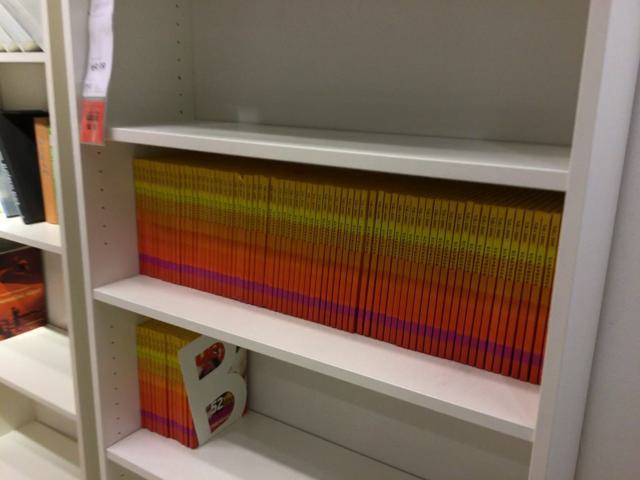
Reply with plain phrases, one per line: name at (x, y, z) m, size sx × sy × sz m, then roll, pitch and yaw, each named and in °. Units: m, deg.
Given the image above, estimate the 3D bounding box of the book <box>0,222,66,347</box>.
book at (-0.800, 0.110, 1.500) m, size 0.130 × 0.260 × 0.190 m, roll 12°, pitch 20°, yaw 31°

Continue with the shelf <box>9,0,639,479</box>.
shelf at (-0.020, 0.150, 0.940) m, size 0.860 × 2.020 × 0.360 m, roll 12°, pitch 20°, yaw 31°

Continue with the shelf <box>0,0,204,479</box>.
shelf at (-0.650, 0.110, 1.380) m, size 0.660 × 1.820 × 0.270 m, roll 12°, pitch 22°, yaw 31°

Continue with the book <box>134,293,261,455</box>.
book at (-0.240, 0.260, 1.170) m, size 0.150 × 0.230 × 0.190 m, roll 12°, pitch 20°, yaw 31°
